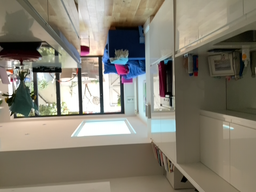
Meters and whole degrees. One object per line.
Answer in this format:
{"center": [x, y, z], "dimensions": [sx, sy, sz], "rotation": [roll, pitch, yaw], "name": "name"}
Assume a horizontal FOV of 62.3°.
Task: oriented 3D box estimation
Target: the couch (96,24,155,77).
{"center": [-0.180, -1.000, 5.350], "dimensions": [1.140, 0.870, 2.460], "rotation": [-2, -177, -6], "name": "couch"}
